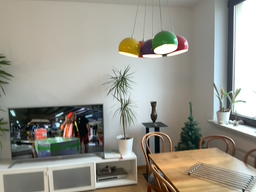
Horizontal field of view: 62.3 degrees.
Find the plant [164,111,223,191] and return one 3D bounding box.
[{"bbox_3d":[0.860,0.800,2.940,0.490,1.070,0.720,-2,5,-12],"label":"plant"}]
